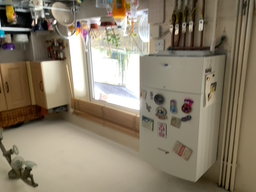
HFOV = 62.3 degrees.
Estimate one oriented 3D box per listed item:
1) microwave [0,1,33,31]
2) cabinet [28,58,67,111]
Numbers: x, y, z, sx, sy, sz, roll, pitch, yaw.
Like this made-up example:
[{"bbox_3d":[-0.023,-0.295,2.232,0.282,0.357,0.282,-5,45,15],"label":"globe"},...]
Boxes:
[{"bbox_3d":[-1.400,-0.920,2.470,0.310,0.280,0.400,11,-161,40],"label":"microwave"},{"bbox_3d":[-1.010,-0.160,2.690,0.290,0.600,0.300,12,-160,41],"label":"cabinet"}]
